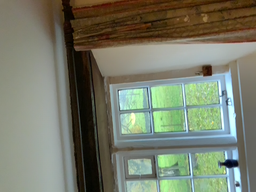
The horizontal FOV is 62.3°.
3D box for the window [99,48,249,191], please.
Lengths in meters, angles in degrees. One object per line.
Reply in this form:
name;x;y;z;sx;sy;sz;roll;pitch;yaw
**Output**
window;0.310;0.300;1.480;0.160;0.910;1.150;-28;-66;-84
